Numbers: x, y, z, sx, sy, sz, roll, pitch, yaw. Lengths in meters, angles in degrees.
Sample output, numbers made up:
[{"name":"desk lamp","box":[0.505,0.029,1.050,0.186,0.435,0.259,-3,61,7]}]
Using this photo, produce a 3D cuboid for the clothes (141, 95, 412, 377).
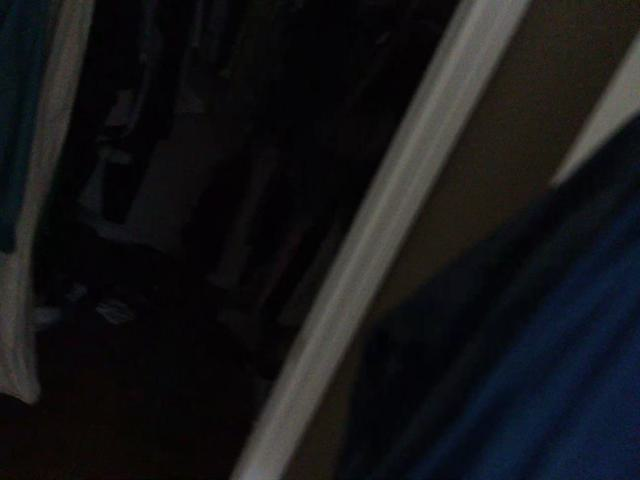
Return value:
[{"name":"clothes","box":[-0.210,-0.030,2.570,0.780,0.890,0.570,23,17,-14]}]

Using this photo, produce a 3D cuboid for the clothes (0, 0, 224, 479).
[{"name":"clothes","box":[-0.770,-0.240,1.700,0.470,1.640,1.200,23,17,-14]}]
